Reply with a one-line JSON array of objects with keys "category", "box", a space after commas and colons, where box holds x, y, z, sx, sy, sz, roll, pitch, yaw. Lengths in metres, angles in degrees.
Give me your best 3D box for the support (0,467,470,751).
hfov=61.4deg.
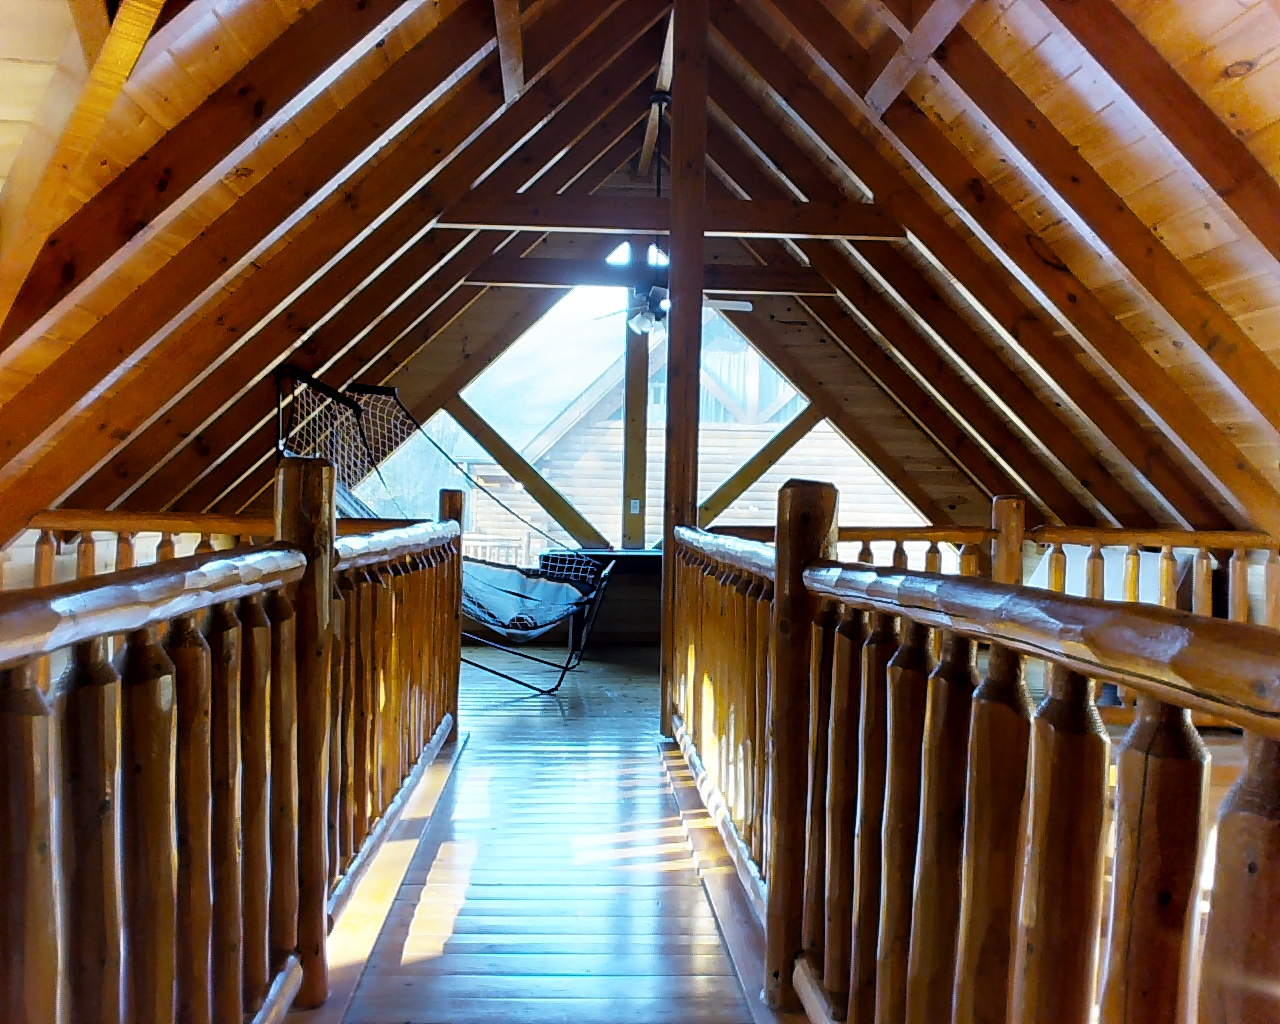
[{"category": "support", "box": [-1.939, 0.460, 5.100, 2.199, 1.270, 0.160, 2, 0, -4]}]
